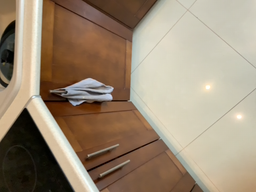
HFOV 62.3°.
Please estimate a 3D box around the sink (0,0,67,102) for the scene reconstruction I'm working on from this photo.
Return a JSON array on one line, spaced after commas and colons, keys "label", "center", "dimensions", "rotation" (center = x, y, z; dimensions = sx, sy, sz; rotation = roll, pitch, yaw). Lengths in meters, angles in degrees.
[{"label": "sink", "center": [-0.520, -0.210, 0.930], "dimensions": [0.440, 0.220, 0.440], "rotation": [3, 91, 28]}]
